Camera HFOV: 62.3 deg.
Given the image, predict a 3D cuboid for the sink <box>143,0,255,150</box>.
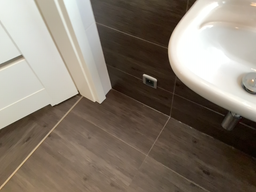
[{"bbox_3d":[0.340,-0.070,0.540,0.480,0.150,0.360,27,62,22],"label":"sink"}]
